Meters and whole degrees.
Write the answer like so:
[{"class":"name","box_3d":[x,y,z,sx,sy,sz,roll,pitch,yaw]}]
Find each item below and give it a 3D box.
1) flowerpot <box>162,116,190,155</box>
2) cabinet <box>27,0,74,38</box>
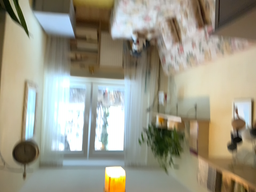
[{"class":"flowerpot","box_3d":[0.610,0.500,2.710,0.260,0.460,0.220,3,178,-10]},{"class":"cabinet","box_3d":[-1.000,-1.150,2.870,0.440,0.430,0.830,3,178,-11]}]
